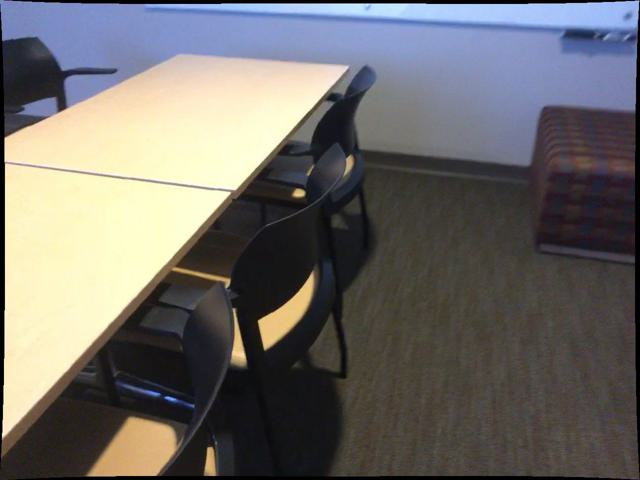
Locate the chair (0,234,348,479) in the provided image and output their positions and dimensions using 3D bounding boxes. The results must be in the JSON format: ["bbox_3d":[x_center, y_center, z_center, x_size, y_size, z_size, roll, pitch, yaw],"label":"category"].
[{"bbox_3d":[-0.329,0.331,0.880,0.649,0.410,0.500,7,32,12],"label":"chair"}]

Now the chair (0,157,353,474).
[{"bbox_3d":[-0.260,0.100,1.350,0.539,0.290,0.710,7,32,12],"label":"chair"}]

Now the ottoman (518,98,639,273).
[{"bbox_3d":[1.328,-0.260,2.540,0.759,0.451,0.770,7,32,12],"label":"ottoman"}]
